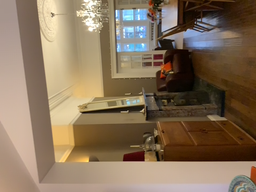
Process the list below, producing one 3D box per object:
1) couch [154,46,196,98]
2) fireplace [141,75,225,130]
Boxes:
[{"bbox_3d":[1.140,-0.600,5.440,0.920,0.810,0.960,86,-176,-60],"label":"couch"},{"bbox_3d":[0.880,0.030,4.050,1.630,1.210,0.610,-84,-7,-76],"label":"fireplace"}]
